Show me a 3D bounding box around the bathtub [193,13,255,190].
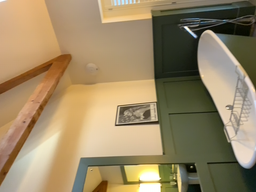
[{"bbox_3d":[1.170,-0.140,2.030,1.760,0.660,0.730,-86,-9,-53],"label":"bathtub"}]
